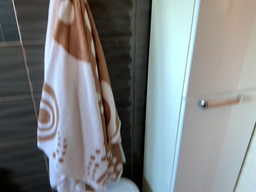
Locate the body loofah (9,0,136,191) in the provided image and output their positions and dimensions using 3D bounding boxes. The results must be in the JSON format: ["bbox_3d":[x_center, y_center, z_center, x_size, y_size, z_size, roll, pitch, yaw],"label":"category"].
[{"bbox_3d":[-0.180,0.080,0.900,0.350,1.000,0.230,-5,27,-13],"label":"body loofah"}]
